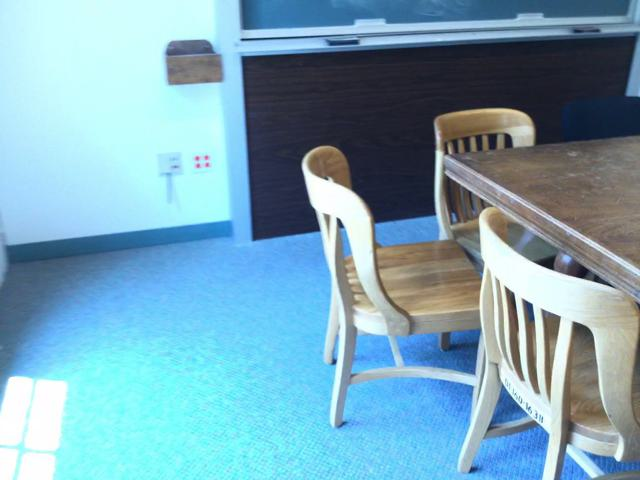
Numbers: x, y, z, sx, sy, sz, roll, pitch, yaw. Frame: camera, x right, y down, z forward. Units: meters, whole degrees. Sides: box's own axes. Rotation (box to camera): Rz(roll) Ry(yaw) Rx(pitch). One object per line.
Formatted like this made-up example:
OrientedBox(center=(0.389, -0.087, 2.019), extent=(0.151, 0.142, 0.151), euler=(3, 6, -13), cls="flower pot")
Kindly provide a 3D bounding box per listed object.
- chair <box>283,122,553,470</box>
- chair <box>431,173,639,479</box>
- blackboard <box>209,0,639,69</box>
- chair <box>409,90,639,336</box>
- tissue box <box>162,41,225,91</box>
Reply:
OrientedBox(center=(0.260, 0.130, 1.830), extent=(0.580, 0.840, 0.580), euler=(-9, 24, -12), cls="chair")
OrientedBox(center=(0.620, 0.330, 1.410), extent=(0.510, 0.820, 0.490), euler=(-9, 24, -12), cls="chair")
OrientedBox(center=(0.740, -1.260, 2.800), extent=(2.530, 0.600, 0.170), euler=(-9, 24, -12), cls="blackboard")
OrientedBox(center=(0.720, -0.130, 2.200), extent=(0.620, 0.740, 0.470), euler=(-9, 24, -12), cls="chair")
OrientedBox(center=(-0.580, -0.800, 2.640), extent=(0.250, 0.180, 0.210), euler=(-9, 24, -12), cls="tissue box")
